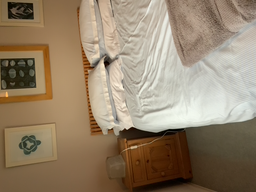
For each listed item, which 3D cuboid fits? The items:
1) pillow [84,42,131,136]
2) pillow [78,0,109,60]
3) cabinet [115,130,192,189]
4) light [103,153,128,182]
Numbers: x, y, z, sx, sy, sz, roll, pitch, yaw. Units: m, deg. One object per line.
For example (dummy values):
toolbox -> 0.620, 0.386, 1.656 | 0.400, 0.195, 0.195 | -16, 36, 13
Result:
pillow -> -0.230, -0.050, 2.110 | 0.460, 0.290, 0.820 | 141, 122, -70
pillow -> -0.380, -0.720, 2.220 | 0.420, 0.210, 0.550 | 145, 118, -71
cabinet -> 0.240, 0.620, 2.180 | 0.400, 0.620, 0.430 | 145, 118, -70
light -> -0.130, 0.690, 2.070 | 0.230, 0.170, 0.210 | 148, 115, -71
